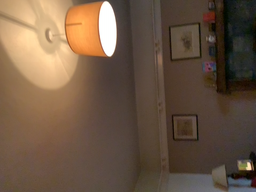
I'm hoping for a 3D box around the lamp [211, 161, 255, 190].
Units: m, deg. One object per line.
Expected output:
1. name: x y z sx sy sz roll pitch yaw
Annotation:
1. lamp: 1.700 1.280 3.450 0.300 0.610 0.310 -35 -59 -73
